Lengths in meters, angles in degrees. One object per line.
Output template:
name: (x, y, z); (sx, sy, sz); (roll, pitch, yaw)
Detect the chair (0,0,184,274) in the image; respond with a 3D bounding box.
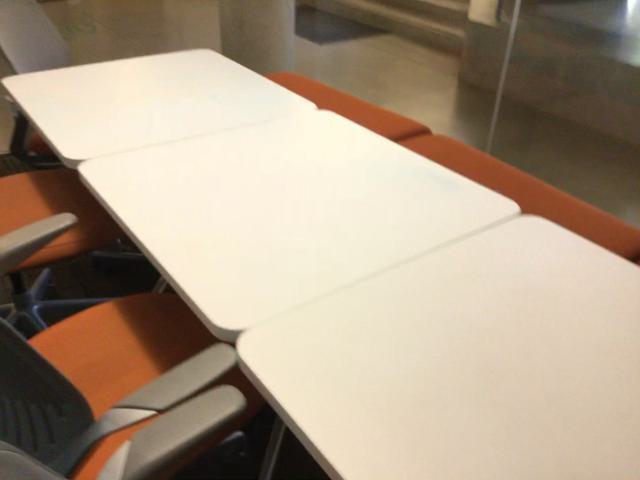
chair: (-0.920, -0.450, 2.250); (0.640, 0.910, 0.610); (-7, 34, -14)

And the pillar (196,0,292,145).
pillar: (-0.420, -1.040, 3.200); (0.330, 0.860, 0.450); (-19, 39, -30)

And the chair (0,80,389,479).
chair: (-0.400, 0.260, 1.180); (0.770, 0.900, 0.610); (-19, 39, -30)
